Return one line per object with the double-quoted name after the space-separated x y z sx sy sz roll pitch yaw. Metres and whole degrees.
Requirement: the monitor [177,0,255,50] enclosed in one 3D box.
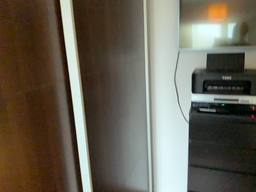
0.850 -0.610 1.430 1.000 0.560 0.060 3 16 20 "monitor"
